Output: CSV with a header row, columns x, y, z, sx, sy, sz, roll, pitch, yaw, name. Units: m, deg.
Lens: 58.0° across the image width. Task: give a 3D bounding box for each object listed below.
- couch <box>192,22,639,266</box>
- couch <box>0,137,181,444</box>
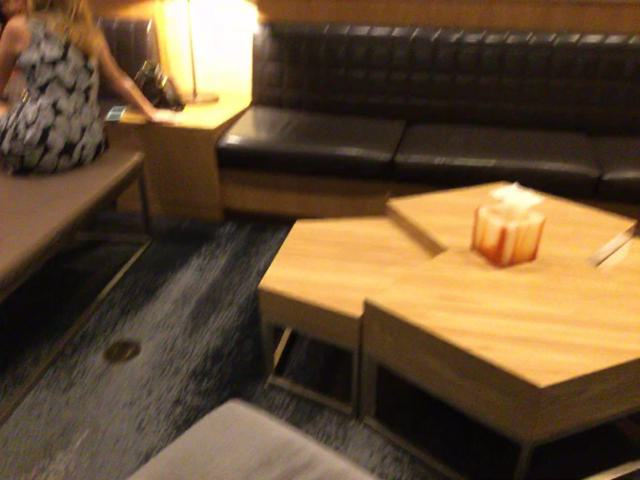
x,y,z,sx,sy,sz,roll,pitch,yaw,name
0.840,-0.480,2.720,2.710,0.880,0.690,4,29,19,couch
-1.230,0.110,2.150,0.770,0.480,1.610,0,27,11,couch
